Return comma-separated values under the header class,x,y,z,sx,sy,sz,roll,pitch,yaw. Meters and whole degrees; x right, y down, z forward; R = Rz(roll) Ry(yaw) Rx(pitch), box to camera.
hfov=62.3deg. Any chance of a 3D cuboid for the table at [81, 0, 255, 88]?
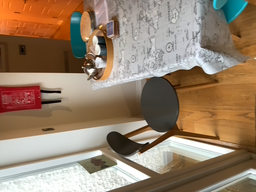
class,x,y,z,sx,sy,sz,roll,pitch,yaw
table,0.270,-0.590,1.620,1.300,0.780,0.930,-5,88,57
